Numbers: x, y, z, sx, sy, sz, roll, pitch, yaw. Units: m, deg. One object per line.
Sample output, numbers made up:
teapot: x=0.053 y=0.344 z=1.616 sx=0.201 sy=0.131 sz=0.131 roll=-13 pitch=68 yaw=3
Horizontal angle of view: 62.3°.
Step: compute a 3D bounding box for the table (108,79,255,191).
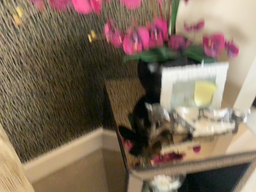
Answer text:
table: x=0.150 y=0.250 z=0.900 sx=0.410 sy=0.490 sz=0.400 roll=-3 pitch=35 yaw=-12
